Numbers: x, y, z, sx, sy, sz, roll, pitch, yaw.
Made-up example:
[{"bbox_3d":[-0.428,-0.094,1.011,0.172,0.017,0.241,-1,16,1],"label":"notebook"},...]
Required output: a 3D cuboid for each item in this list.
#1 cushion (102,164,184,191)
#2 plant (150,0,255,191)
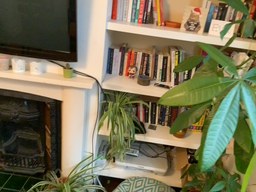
[{"bbox_3d":[0.100,0.840,1.610,0.590,0.240,0.480,12,24,9],"label":"cushion"},{"bbox_3d":[0.620,0.410,1.150,0.840,1.660,0.920,11,24,7],"label":"plant"}]
